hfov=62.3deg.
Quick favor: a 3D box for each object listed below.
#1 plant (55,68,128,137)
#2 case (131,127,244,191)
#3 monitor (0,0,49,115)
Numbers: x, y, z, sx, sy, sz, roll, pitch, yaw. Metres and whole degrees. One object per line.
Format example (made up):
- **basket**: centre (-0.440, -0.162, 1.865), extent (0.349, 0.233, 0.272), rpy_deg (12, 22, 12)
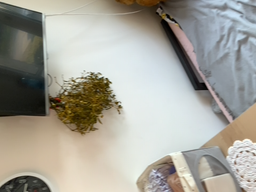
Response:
- **plant**: centre (-0.210, 0.020, 1.150), extent (0.110, 0.320, 0.360), rpy_deg (116, 144, -47)
- **case**: centre (0.210, 0.370, 0.830), extent (0.370, 0.210, 0.340), rpy_deg (116, 144, -47)
- **monitor**: centre (-0.620, -0.250, 1.010), extent (0.080, 0.410, 0.740), rpy_deg (119, 142, -49)
